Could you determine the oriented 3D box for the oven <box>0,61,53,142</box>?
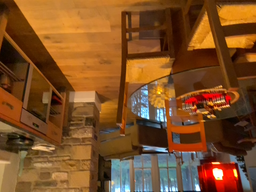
[{"bbox_3d":[-1.260,0.090,2.250,0.630,0.670,0.610,-3,159,3],"label":"oven"}]
